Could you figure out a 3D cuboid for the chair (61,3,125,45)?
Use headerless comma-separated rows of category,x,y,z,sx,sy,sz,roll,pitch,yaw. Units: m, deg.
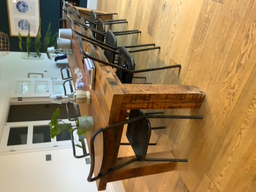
chair,-0.580,-1.140,3.390,0.460,0.910,0.460,-123,38,-53
